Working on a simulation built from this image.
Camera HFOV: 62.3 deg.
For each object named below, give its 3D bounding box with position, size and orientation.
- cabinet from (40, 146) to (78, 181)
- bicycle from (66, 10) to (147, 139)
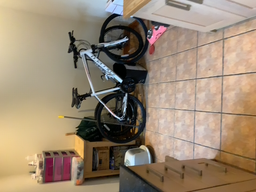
[{"bbox_3d":[-0.960,0.910,2.920,0.440,0.440,0.310,0,87,64],"label":"cabinet"},{"bbox_3d":[-0.290,-0.250,2.980,0.310,0.980,1.600,5,92,64],"label":"bicycle"}]
